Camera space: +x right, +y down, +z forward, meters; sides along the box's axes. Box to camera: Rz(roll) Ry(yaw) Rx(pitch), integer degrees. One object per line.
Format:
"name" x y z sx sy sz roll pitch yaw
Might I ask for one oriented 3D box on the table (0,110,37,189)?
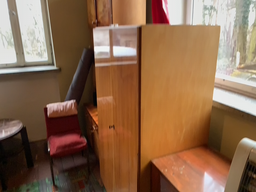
"table" -1.460 0.610 2.550 0.580 0.590 0.750 -9 19 -22
